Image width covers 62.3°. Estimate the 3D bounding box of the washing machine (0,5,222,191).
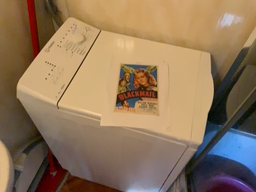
[{"bbox_3d":[-0.070,0.160,1.060,0.670,0.890,0.480,18,54,9],"label":"washing machine"}]
